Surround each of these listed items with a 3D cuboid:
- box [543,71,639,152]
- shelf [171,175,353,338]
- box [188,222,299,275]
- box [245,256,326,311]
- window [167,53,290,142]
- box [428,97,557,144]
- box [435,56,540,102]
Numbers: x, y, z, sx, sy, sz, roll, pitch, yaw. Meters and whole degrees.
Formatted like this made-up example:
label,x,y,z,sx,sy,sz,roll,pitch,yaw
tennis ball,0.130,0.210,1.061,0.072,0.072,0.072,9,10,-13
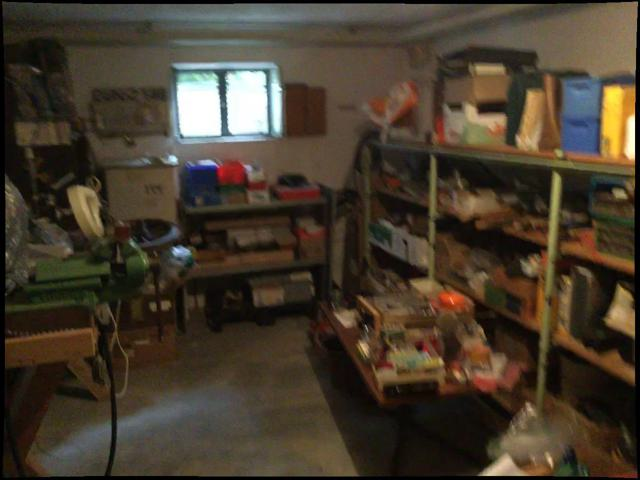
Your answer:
label,x,y,z,sx,sy,sz,roll,pitch,yaw
box,1.079,-0.490,2.180,0.330,0.270,0.270,-6,15,-16
shelf,-0.440,0.070,4.340,1.199,0.951,0.690,-6,15,-16
box,-0.569,0.050,4.230,0.719,0.200,0.500,-6,15,-16
box,-0.260,0.310,4.270,0.510,0.230,0.400,-6,15,-16
window,-0.709,-1.101,4.450,0.829,0.601,0.530,-6,15,-16
box,0.859,-0.621,2.950,0.420,0.200,0.500,-6,15,-16
box,0.799,-0.781,2.830,0.250,0.190,0.510,-6,15,-16
